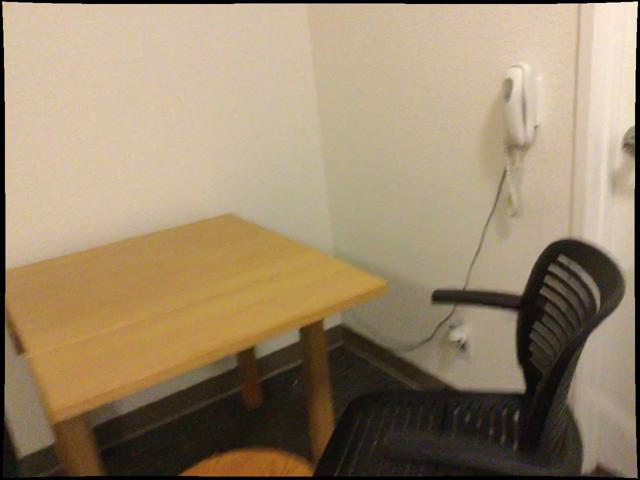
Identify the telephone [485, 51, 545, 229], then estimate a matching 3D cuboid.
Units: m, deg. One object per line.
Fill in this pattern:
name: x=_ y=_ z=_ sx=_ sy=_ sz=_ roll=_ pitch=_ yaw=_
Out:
telephone: x=0.509 y=-0.260 z=1.520 sx=0.090 sy=0.440 sz=0.110 roll=-20 pitch=24 yaw=-31
